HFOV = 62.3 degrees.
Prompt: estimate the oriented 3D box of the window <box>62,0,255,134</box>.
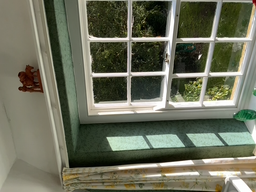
[{"bbox_3d":[0.250,-0.260,1.520,0.370,1.250,0.940,-104,13,-63],"label":"window"}]
